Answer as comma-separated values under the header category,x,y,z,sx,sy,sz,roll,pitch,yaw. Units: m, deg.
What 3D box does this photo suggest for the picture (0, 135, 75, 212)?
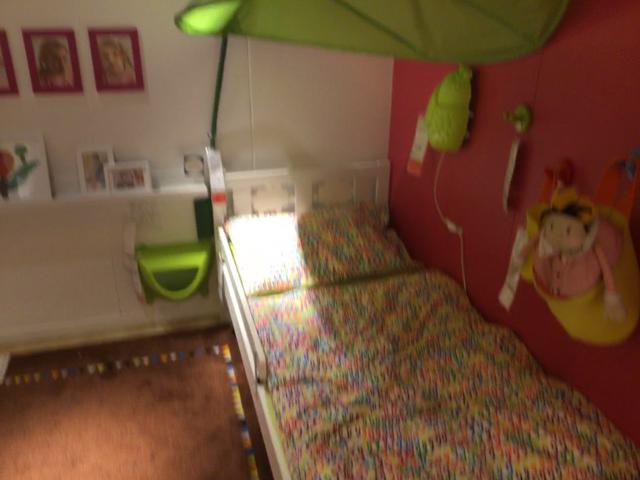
category,x,y,z,sx,sy,sz,roll,pitch,yaw
picture,-1.110,-0.240,2.100,0.360,0.250,0.110,-3,24,-10
